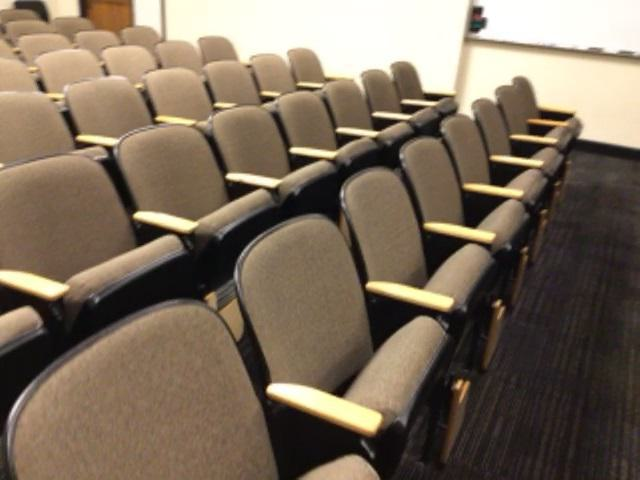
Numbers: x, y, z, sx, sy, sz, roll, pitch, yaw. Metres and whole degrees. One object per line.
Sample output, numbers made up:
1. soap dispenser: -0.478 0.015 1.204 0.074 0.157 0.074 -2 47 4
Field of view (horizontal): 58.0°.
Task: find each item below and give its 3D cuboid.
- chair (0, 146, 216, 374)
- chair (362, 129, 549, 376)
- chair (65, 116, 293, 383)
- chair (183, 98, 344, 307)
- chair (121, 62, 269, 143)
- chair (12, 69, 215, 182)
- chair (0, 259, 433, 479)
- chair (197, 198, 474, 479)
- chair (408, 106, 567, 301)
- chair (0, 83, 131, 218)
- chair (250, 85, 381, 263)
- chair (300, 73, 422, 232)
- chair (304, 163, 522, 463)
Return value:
1. chair: -0.730 0.010 1.770 0.580 0.390 0.570 14 26 22
2. chair: 0.560 0.010 2.390 0.530 0.760 0.590 14 26 22
3. chair: -0.500 -0.010 2.250 0.540 0.770 0.620 14 26 22
4. chair: -0.250 -0.200 2.680 0.510 0.770 0.510 14 26 22
5. chair: -0.680 -0.810 3.310 0.460 0.290 0.750 14 26 22
6. chair: -0.950 -0.580 2.770 0.610 0.340 0.650 14 26 22
7. chair: -0.200 0.530 1.080 0.580 0.690 0.630 14 26 22
8. chair: 0.050 0.360 1.540 0.490 0.740 0.540 14 26 22
9. chair: 0.810 -0.200 2.830 0.560 0.770 0.430 14 26 22
10. chair: -1.220 -0.410 2.460 0.530 0.380 0.550 14 26 22
11. chair: -0.030 -0.370 3.070 0.500 0.770 0.470 14 26 22
12. chair: 0.250 -0.560 3.520 0.500 0.780 0.590 14 26 22
13. chair: 0.300 0.210 1.940 0.530 0.770 0.450 14 26 22
